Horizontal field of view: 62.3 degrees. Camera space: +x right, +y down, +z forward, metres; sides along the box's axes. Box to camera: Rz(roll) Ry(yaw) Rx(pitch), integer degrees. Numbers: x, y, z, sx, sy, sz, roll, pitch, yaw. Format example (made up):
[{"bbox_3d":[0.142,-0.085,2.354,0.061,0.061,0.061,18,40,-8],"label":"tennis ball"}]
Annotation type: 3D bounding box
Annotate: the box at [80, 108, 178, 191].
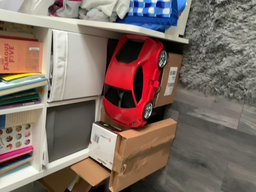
[{"bbox_3d":[0.020,0.310,1.310,0.330,0.480,0.320,21,107,33],"label":"box"}]
